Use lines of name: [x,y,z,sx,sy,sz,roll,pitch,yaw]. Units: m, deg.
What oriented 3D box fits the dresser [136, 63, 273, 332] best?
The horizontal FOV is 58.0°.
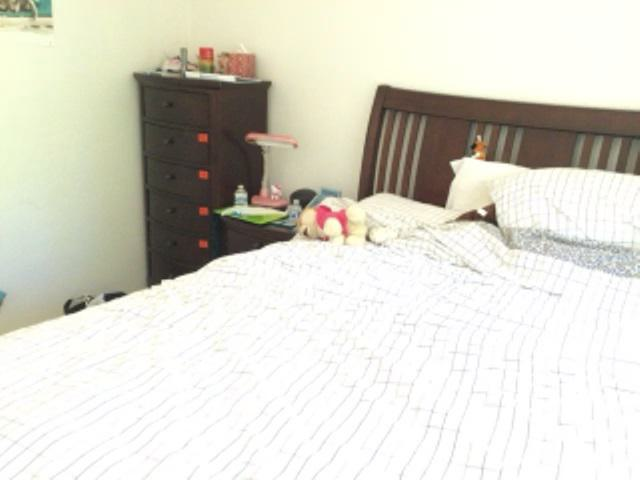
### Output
dresser: [-0.650,-0.260,3.240,0.590,1.360,0.420,17,22,34]
